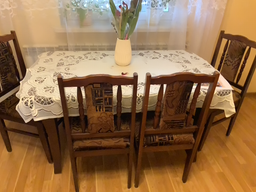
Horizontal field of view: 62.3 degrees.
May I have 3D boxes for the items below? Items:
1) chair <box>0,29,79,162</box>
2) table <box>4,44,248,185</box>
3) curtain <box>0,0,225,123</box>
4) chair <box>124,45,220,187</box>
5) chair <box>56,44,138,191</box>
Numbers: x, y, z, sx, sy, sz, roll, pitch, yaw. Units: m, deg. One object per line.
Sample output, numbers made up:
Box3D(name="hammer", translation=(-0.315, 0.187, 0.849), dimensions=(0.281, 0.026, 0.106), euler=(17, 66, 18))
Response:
Box3D(name="chair", translation=(-0.770, -0.010, 1.730), dimensions=(0.490, 0.890, 0.490), euler=(10, 33, 11))
Box3D(name="table", translation=(-0.030, 0.070, 1.790), dimensions=(1.430, 0.740, 0.870), euler=(-2, 32, -8))
Box3D(name="curtain", translation=(-0.120, -1.070, 1.700), dimensions=(1.950, 2.850, 0.310), euler=(-3, 33, -10))
Box3D(name="chair", translation=(0.230, 0.150, 1.540), dimensions=(0.430, 0.910, 0.470), euler=(-2, 32, -8))
Box3D(name="chair", translation=(-0.200, 0.160, 1.490), dimensions=(0.400, 0.910, 0.500), euler=(-2, 32, -8))
